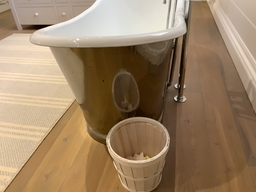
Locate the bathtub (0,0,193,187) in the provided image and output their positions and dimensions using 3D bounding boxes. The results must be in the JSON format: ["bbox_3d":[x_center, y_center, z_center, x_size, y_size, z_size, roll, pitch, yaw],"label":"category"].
[{"bbox_3d":[0.030,-0.340,1.520,0.710,0.700,1.620,4,36,12],"label":"bathtub"}]
